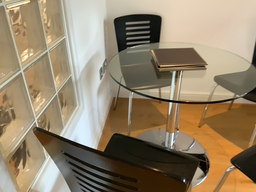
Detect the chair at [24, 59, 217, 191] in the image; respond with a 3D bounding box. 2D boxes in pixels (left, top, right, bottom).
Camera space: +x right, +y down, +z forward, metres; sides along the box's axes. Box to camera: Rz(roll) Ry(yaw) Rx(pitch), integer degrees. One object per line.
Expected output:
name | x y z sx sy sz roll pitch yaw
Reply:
chair | 0.030 0.360 0.890 0.430 0.840 0.500 14 34 21
